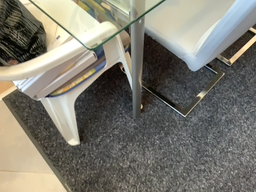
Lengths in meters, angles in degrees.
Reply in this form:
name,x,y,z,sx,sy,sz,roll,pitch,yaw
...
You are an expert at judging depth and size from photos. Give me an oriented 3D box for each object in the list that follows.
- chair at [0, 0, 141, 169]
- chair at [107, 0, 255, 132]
name,x,y,z,sx,sy,sz,roll,pitch,yaw
chair,-0.320,-0.170,0.850,0.510,0.810,0.510,-36,65,-19
chair,0.250,-0.340,0.870,0.590,0.940,0.370,40,68,21
